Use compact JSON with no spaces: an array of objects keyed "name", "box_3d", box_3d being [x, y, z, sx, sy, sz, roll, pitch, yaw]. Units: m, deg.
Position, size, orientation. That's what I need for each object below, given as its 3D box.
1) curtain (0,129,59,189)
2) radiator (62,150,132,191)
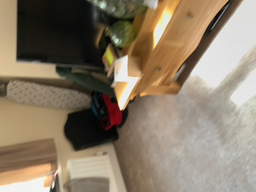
[{"name":"curtain","box_3d":[-1.360,0.590,1.870,0.200,1.360,0.460,-62,39,41]},{"name":"radiator","box_3d":[-0.250,1.050,2.060,0.160,0.620,0.980,-58,42,44]}]
